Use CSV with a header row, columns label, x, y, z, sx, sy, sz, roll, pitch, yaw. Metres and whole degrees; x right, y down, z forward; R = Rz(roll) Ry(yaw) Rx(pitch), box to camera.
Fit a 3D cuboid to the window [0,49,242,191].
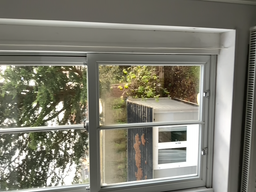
label,x,y,z,sx,sy,sz,roll,pitch,yaw
window,-0.100,0.200,1.170,0.120,1.540,0.870,-152,61,-75
